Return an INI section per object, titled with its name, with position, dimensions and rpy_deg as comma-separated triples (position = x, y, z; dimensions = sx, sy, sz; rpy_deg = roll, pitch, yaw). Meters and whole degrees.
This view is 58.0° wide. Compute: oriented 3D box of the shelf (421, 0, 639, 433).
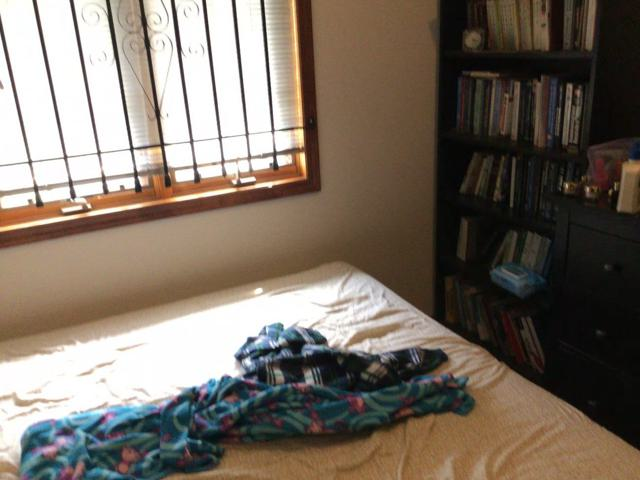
[shelf]
position = 0.810, -0.360, 2.280
dimensions = 0.350, 1.990, 0.830
rpy_deg = -12, 20, -27

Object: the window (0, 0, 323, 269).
[window]
position = -0.660, -0.660, 1.940
dimensions = 1.370, 1.340, 0.180
rpy_deg = -12, 20, -27
